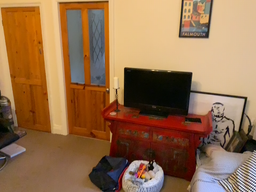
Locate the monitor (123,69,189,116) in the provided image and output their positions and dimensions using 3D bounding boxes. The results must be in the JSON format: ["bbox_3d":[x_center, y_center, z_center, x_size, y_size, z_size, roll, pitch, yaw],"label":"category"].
[{"bbox_3d":[0.310,-0.050,2.530,0.770,0.500,0.040,6,18,18],"label":"monitor"}]
